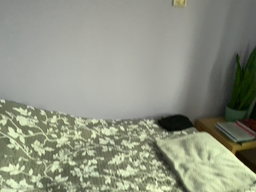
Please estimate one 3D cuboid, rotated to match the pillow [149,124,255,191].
[{"bbox_3d":[0.550,0.470,1.640,0.510,0.120,0.730,-3,23,-19],"label":"pillow"}]
